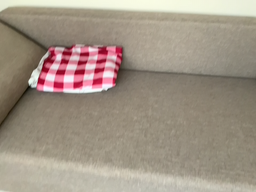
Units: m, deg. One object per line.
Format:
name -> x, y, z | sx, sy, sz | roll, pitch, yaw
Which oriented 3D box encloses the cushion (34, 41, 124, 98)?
cushion -> -0.270, -0.180, 1.310 | 0.440, 0.150, 0.350 | 6, 40, 7
